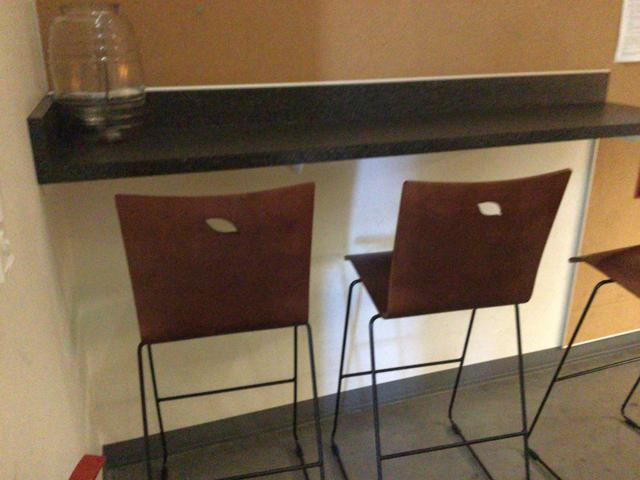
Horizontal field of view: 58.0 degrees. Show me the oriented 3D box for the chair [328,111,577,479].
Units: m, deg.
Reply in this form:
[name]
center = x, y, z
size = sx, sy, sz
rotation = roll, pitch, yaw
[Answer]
[chair]
center = 0.360, 0.180, 1.640
size = 0.440, 0.940, 0.530
rotation = -12, 22, -8
